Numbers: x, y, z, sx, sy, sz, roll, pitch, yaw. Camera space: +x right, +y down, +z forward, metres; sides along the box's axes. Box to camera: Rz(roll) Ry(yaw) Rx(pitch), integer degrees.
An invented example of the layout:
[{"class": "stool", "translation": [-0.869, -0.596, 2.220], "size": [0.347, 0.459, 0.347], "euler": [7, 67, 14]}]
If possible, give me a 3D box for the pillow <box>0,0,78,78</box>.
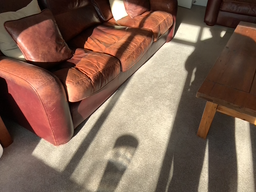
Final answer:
[{"class": "pillow", "translation": [-0.690, -0.450, 1.530], "size": [0.230, 0.430, 0.460], "euler": [-15, 25, 39]}]
